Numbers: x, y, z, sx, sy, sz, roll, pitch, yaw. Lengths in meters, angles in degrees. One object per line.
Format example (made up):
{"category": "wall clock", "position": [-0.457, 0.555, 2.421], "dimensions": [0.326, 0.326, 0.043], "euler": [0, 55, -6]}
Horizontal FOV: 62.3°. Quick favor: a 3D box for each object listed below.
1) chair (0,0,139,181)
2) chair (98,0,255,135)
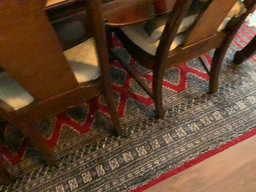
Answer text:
{"category": "chair", "position": [-0.310, -0.180, 0.760], "dimensions": [0.460, 1.040, 0.610], "euler": [-23, 61, -12]}
{"category": "chair", "position": [0.220, -0.400, 0.880], "dimensions": [0.530, 1.040, 0.620], "euler": [-23, 61, -12]}
